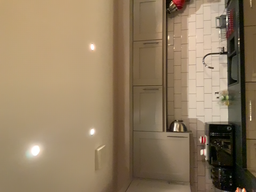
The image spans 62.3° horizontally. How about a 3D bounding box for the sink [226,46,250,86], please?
[{"bbox_3d":[1.310,-0.340,2.560,0.500,0.130,0.400,11,-100,-77],"label":"sink"}]
